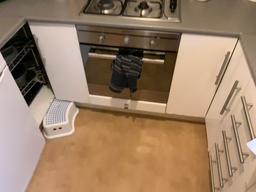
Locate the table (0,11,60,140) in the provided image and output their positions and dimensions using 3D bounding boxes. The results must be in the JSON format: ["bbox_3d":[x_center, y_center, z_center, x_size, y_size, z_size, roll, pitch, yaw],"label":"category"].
[{"bbox_3d":[-0.910,-0.100,1.470,0.590,0.880,0.310,7,48,6],"label":"table"}]
